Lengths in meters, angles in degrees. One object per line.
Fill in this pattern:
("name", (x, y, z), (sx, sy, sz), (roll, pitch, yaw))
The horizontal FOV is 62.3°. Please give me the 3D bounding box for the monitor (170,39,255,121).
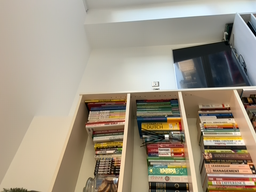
("monitor", (0.920, -0.280, 2.470), (1.340, 0.750, 0.070), (-84, -3, -46))
